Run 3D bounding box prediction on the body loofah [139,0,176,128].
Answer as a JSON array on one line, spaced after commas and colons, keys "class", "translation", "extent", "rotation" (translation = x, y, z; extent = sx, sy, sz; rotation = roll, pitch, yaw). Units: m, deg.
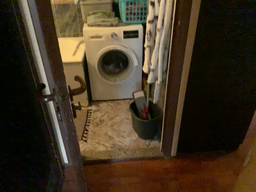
[{"class": "body loofah", "translation": [0.210, -0.420, 1.700], "extent": [0.210, 1.510, 0.340], "rotation": [-1, 34, 1]}]
